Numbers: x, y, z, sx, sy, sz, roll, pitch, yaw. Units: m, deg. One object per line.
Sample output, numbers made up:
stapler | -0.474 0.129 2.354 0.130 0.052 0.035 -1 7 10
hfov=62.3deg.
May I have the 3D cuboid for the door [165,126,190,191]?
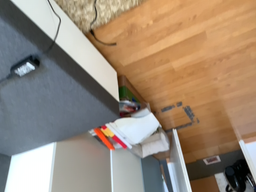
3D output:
door | 0.580 1.370 1.900 0.090 1.990 0.930 -10 145 5
